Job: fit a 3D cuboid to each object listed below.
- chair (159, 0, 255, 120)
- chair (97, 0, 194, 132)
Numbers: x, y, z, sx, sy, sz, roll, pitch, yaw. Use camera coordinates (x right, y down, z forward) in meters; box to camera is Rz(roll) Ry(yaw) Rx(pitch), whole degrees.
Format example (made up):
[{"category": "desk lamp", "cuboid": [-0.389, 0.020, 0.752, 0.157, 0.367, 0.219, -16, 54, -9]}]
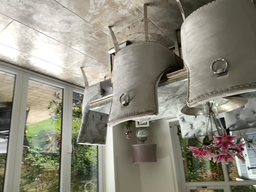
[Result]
[{"category": "chair", "cuboid": [0.690, -0.410, 1.600, 0.560, 1.010, 0.670, -19, 156, 37]}, {"category": "chair", "cuboid": [0.150, -0.230, 2.020, 0.540, 1.020, 0.670, -19, 156, 37]}]
